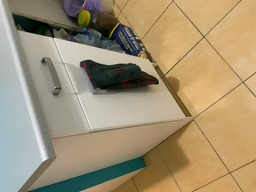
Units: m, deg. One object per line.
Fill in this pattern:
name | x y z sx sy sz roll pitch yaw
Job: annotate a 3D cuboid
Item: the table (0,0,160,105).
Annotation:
table | -0.410 -0.410 1.230 0.490 0.840 0.770 -45 60 33
